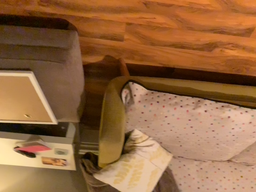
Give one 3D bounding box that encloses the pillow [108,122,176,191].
[{"bbox_3d":[0.090,0.490,1.410,0.210,0.460,0.470,-34,103,3],"label":"pillow"}]
